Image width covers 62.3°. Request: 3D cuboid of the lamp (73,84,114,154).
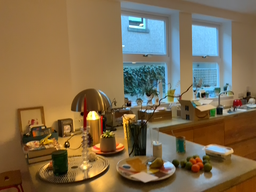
[{"bbox_3d":[-0.320,0.180,1.940,0.240,0.570,0.350,-5,5,-28],"label":"lamp"}]
